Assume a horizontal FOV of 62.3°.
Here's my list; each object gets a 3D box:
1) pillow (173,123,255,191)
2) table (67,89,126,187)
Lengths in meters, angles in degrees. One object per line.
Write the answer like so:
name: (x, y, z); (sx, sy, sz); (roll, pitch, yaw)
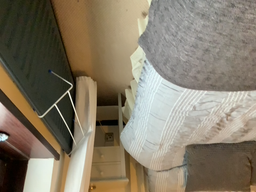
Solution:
pillow: (0.650, 0.520, 1.610); (0.440, 0.450, 0.200); (26, -172, 7)
table: (-0.260, 0.380, 1.930); (0.430, 0.770, 0.410); (-2, 151, -3)
